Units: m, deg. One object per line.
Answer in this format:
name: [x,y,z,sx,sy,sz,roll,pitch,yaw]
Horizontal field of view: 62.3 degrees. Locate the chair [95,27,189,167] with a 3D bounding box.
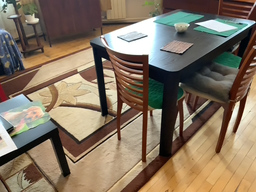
chair: [0.100,0.010,1.580,0.410,0.860,0.430,28,45,35]

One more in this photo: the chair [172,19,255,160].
chair: [0.730,-0.060,1.650,0.520,0.860,0.460,28,45,35]

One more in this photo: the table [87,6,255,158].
table: [0.470,-0.290,2.080,0.870,0.760,1.380,28,45,36]

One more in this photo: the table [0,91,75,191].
table: [-0.800,0.370,1.470,0.560,0.440,0.560,28,45,36]
